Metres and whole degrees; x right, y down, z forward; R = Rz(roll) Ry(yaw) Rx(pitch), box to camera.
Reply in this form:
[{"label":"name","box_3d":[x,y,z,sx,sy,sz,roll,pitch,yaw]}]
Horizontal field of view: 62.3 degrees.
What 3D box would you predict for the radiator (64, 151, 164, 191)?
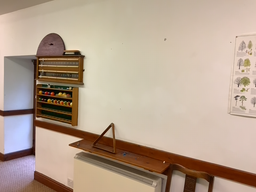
[{"label":"radiator","box_3d":[-0.220,1.030,2.200,1.170,0.600,0.180,7,6,36]}]
